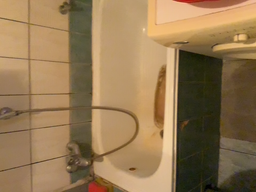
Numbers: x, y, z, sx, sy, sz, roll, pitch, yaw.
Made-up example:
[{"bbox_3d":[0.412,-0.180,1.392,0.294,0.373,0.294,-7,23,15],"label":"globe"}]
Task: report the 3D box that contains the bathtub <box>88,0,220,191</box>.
[{"bbox_3d":[0.160,-0.050,1.460,0.690,0.560,1.460,3,94,45],"label":"bathtub"}]
